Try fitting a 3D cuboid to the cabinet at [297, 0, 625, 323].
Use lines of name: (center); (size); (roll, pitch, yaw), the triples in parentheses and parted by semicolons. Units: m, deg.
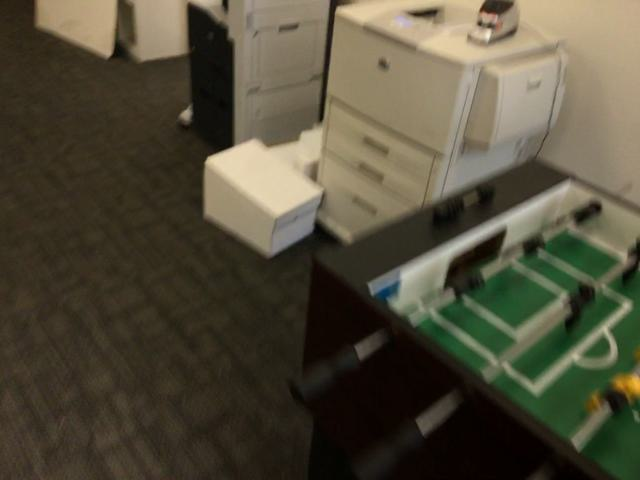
cabinet: (0.470, -0.390, 2.310); (0.710, 0.930, 0.830); (-23, 46, -33)
